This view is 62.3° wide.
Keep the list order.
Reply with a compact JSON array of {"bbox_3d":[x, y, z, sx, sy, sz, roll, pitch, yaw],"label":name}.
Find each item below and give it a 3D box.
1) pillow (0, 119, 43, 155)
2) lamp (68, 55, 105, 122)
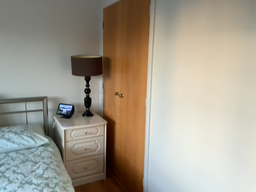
[{"bbox_3d":[-1.220,0.410,2.100,0.660,0.170,0.450,-4,11,-26],"label":"pillow"},{"bbox_3d":[-0.490,-0.110,2.490,0.350,0.720,0.340,-4,11,-26],"label":"lamp"}]
